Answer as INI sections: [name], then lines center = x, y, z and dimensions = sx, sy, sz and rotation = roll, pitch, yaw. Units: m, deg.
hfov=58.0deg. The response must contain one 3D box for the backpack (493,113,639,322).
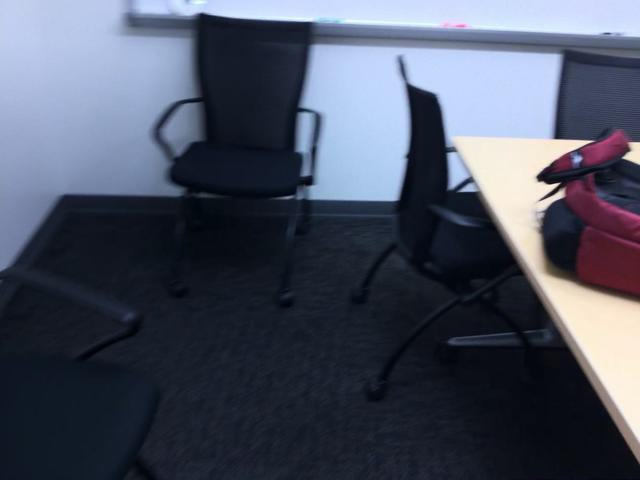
[backpack]
center = 0.680, -0.070, 1.180
dimensions = 0.480, 0.220, 0.490
rotation = 1, 30, -2
